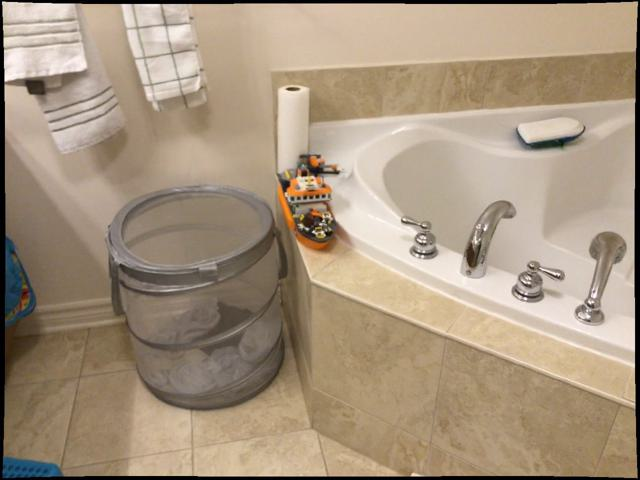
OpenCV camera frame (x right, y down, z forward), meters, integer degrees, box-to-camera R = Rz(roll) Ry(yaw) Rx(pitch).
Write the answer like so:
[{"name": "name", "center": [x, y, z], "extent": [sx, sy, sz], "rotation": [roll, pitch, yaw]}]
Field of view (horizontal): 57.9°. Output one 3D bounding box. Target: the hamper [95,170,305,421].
[{"name": "hamper", "center": [-0.330, 0.140, 1.700], "extent": [0.490, 0.490, 0.480], "rotation": [-6, 34, -10]}]

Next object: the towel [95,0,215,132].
[{"name": "towel", "center": [-0.420, -0.501, 1.500], "extent": [0.250, 0.390, 0.150], "rotation": [-6, 34, -10]}]

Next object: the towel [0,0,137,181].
[{"name": "towel", "center": [-0.679, -0.420, 1.470], "extent": [0.330, 0.490, 0.170], "rotation": [-6, 34, -10]}]

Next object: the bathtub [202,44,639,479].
[{"name": "bathtub", "center": [0.909, 0.120, 1.560], "extent": [1.939, 0.690, 1.360], "rotation": [20, 37, 26]}]
